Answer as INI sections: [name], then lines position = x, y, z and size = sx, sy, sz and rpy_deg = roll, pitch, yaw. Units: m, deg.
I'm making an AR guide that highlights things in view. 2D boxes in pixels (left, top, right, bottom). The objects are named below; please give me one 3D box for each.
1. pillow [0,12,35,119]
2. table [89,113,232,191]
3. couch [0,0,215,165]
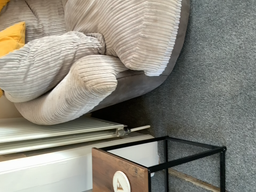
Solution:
[pillow]
position = -0.750, -0.150, 1.180
size = 0.600, 0.290, 0.470
rpy_deg = 6, 97, 54
[table]
position = 0.140, 0.340, 0.900
size = 0.360, 0.480, 0.470
rpy_deg = 2, 94, 54
[couch]
position = -0.280, -0.540, 1.210
size = 1.240, 0.730, 1.350
rpy_deg = 4, 96, 54
